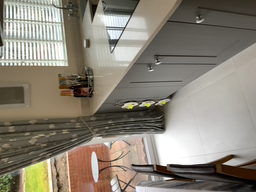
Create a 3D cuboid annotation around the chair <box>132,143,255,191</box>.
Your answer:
[{"bbox_3d":[0.540,0.630,1.390,0.380,0.880,0.490,139,124,-61],"label":"chair"}]
